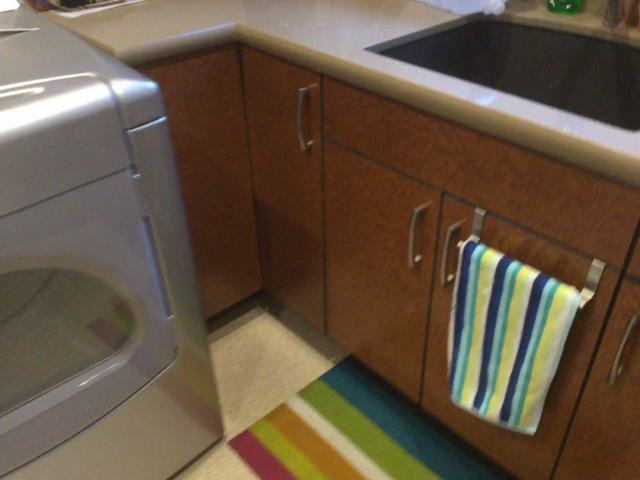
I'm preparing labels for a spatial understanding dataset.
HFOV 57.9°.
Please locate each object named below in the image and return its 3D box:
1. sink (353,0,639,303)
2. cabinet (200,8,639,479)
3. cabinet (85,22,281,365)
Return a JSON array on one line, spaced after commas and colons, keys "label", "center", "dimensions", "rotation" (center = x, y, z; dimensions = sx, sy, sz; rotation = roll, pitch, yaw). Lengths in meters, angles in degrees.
[{"label": "sink", "center": [0.460, -0.320, 1.140], "dimensions": [0.540, 0.490, 0.560], "rotation": [-29, 44, -34]}, {"label": "cabinet", "center": [0.350, 0.170, 1.110], "dimensions": [0.160, 0.870, 1.620], "rotation": [-29, 44, -34]}, {"label": "cabinet", "center": [-0.300, -0.090, 1.490], "dimensions": [0.380, 0.820, 0.110], "rotation": [-29, 44, -34]}]
